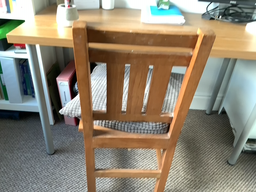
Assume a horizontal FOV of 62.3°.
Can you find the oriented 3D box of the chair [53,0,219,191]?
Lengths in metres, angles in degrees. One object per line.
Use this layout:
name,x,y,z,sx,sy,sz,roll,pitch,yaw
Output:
chair,-0.010,0.050,0.970,0.420,0.850,0.480,2,34,-4
